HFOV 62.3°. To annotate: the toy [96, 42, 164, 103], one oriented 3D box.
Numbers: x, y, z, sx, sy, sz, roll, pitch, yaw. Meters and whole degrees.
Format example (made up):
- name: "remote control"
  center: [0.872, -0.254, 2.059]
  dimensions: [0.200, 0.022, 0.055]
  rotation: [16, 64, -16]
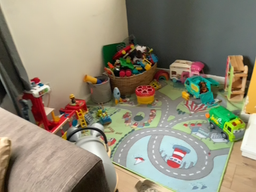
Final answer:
- name: "toy"
  center: [0.040, -0.280, 2.260]
  dimensions: [0.520, 0.410, 0.460]
  rotation: [17, 38, 32]
